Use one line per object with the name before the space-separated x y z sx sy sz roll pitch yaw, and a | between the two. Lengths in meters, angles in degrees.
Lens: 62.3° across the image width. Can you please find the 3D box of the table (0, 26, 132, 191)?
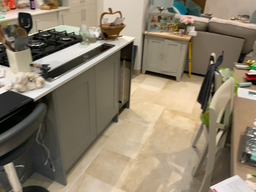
table | -0.720 0.070 1.870 0.890 0.910 1.710 15 32 18

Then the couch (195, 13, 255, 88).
couch | 1.640 -0.820 3.590 0.670 0.920 0.960 14 33 18
